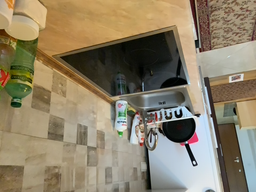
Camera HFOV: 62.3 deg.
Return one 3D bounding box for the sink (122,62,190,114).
[{"bbox_3d":[0.220,-0.030,1.540,0.390,0.180,0.440,-9,160,18],"label":"sink"}]
